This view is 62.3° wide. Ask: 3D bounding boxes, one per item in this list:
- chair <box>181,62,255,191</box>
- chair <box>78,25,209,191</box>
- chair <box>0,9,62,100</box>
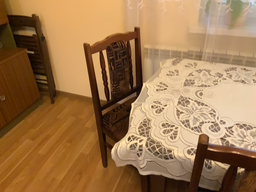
[{"bbox_3d":[0.450,0.410,0.880,0.420,0.920,0.490,11,36,18],"label":"chair"},{"bbox_3d":[0.080,0.120,1.320,0.490,0.930,0.430,28,44,36],"label":"chair"},{"bbox_3d":[-1.010,-0.400,2.170,0.500,0.870,0.130,11,36,18],"label":"chair"}]
